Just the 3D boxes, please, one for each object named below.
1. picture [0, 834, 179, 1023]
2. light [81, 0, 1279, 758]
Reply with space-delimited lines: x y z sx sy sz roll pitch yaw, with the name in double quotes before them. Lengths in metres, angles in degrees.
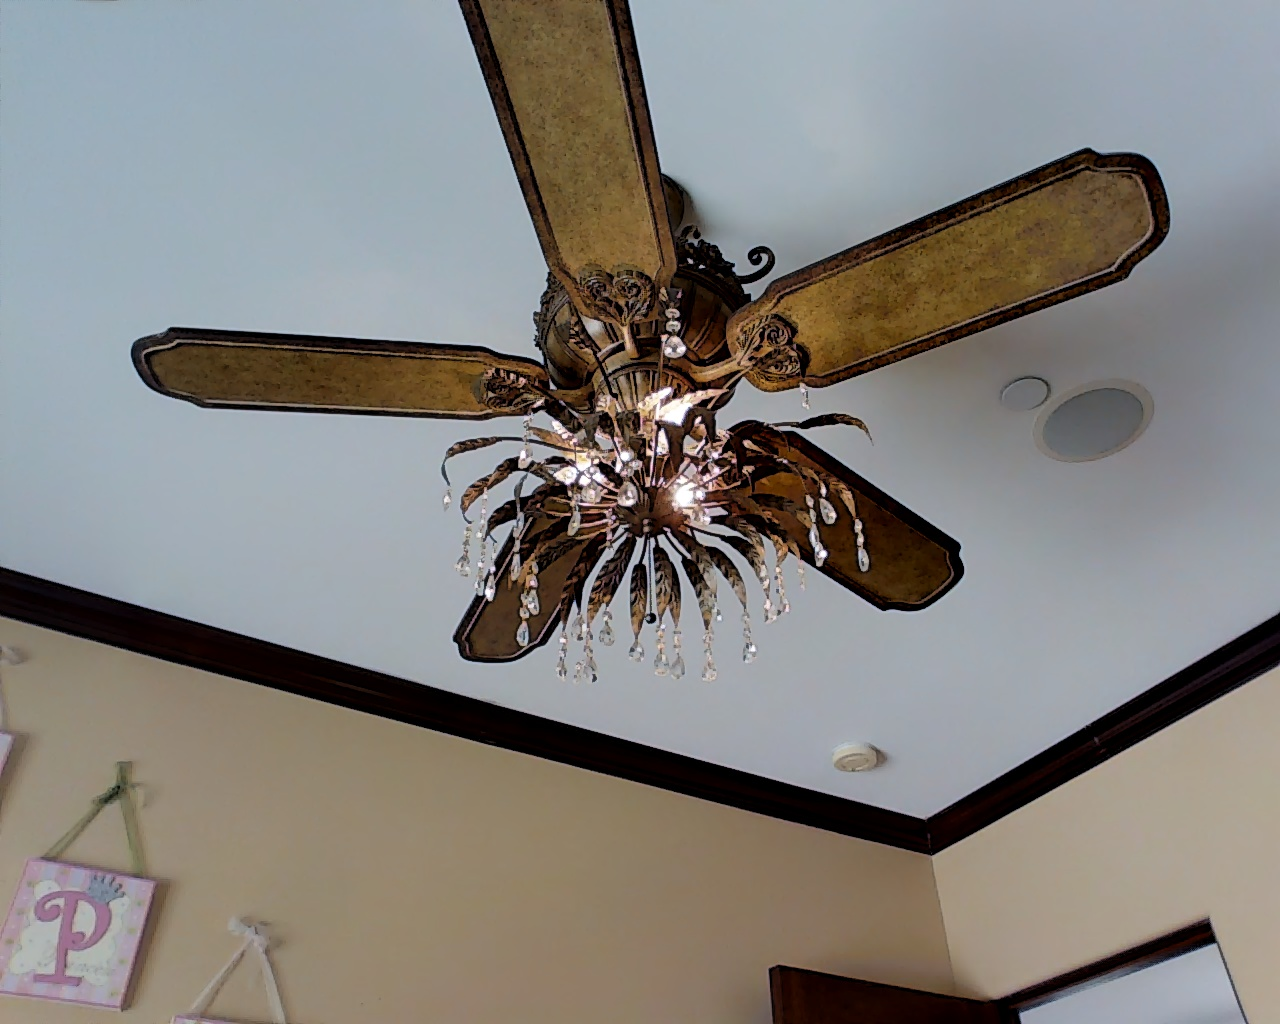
"picture" -1.120 0.830 2.120 0.300 0.320 0.040 20 -45 -21
"light" 0.050 -0.280 1.570 1.300 0.500 1.350 18 -45 -24
